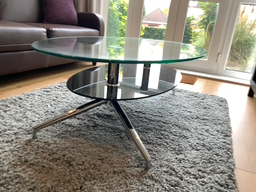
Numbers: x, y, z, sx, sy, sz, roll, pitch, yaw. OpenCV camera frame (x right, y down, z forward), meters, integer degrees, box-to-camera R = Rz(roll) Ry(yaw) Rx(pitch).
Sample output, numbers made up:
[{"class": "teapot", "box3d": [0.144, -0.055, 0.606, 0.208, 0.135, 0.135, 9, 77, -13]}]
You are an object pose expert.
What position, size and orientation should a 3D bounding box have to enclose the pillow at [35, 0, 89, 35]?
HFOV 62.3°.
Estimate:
[{"class": "pillow", "box3d": [-0.710, -1.000, 2.360, 0.210, 0.410, 0.440, 19, 63, 25]}]
